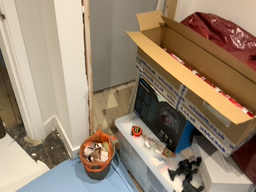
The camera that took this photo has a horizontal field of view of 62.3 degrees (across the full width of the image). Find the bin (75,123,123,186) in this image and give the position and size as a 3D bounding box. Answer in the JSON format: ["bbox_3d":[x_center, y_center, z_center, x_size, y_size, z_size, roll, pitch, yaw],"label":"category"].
[{"bbox_3d":[-0.220,0.420,1.560,0.210,0.240,0.320,-19,44,-28],"label":"bin"}]

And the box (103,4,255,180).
[{"bbox_3d":[0.260,-0.140,1.160,0.370,0.410,1.000,-18,43,-28],"label":"box"}]

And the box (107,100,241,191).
[{"bbox_3d":[0.230,0.470,1.480,0.410,0.400,0.810,-18,43,-27],"label":"box"}]
